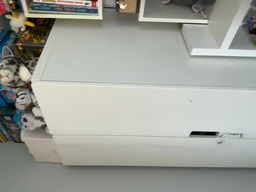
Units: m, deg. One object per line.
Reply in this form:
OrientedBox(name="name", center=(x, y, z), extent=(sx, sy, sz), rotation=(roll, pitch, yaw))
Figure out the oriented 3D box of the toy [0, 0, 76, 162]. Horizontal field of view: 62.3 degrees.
OrientedBox(name="toy", center=(-0.670, -0.060, 1.030), extent=(0.680, 0.670, 0.500), rotation=(96, 175, -50))
